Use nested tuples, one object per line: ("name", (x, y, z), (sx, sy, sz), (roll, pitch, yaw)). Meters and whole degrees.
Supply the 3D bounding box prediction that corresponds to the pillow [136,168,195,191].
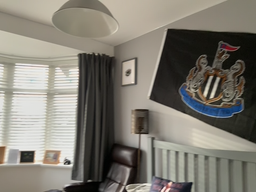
("pillow", (0.250, 0.760, 1.590), (0.400, 0.320, 0.120), (-4, -40, 46))
